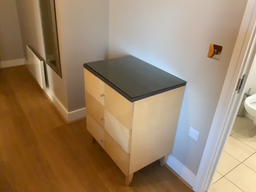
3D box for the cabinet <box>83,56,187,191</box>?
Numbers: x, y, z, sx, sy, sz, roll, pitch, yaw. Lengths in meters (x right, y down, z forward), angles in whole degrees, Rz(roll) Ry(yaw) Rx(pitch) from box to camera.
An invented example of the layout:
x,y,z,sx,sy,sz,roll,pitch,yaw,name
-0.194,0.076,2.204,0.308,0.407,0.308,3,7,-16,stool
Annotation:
x,y,z,sx,sy,sz,roll,pitch,yaw,name
0.000,0.190,1.890,0.510,0.860,0.710,-15,34,-32,cabinet
